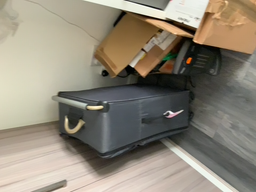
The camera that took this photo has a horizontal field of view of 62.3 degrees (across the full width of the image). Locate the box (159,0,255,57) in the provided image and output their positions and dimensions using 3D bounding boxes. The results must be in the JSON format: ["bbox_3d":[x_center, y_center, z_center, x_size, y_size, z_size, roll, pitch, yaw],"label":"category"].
[{"bbox_3d":[0.470,-0.420,1.040,0.300,0.480,0.340,41,122,37],"label":"box"}]
